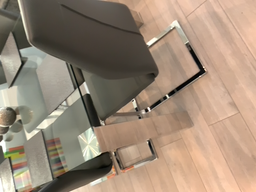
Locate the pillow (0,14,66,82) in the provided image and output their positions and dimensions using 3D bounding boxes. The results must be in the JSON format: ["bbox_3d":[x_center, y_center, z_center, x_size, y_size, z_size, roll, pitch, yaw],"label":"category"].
[{"bbox_3d":[-0.690,-0.300,1.470,0.410,0.310,0.210,-41,66,35],"label":"pillow"}]
